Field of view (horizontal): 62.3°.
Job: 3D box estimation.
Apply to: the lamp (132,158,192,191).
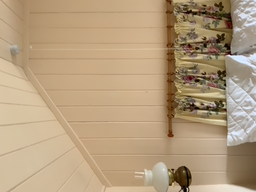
[{"bbox_3d":[0.220,0.570,1.430,0.160,0.370,0.260,99,170,-84],"label":"lamp"}]
